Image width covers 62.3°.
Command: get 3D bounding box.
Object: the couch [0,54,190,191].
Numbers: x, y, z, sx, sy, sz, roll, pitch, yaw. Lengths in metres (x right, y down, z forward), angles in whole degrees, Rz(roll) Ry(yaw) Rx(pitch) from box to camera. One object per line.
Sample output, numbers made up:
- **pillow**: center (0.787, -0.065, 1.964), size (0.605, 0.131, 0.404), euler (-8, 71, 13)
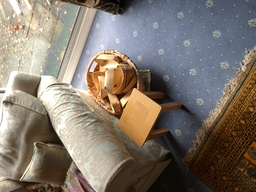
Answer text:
- **couch**: center (-0.620, 0.790, 1.790), size (1.140, 0.900, 1.850), euler (43, 118, 29)
